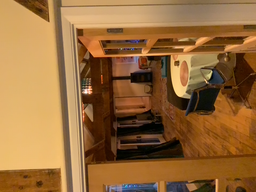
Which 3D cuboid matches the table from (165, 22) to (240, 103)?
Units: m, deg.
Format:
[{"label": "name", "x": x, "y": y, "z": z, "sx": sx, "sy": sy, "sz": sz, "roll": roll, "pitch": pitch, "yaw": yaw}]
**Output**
[{"label": "table", "x": 1.100, "y": -0.530, "z": 3.420, "sx": 1.060, "sy": 0.750, "sz": 1.090, "roll": -112, "pitch": 20, "yaw": -80}]
